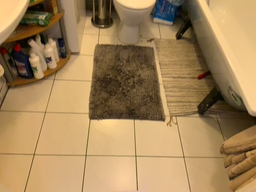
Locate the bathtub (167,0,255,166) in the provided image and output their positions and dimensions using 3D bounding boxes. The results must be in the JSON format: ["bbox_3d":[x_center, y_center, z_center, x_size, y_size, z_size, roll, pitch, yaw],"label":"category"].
[{"bbox_3d":[0.800,-0.390,1.620,0.680,0.550,1.670,3,51,-4],"label":"bathtub"}]

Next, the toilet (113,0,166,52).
[{"bbox_3d":[0.080,-0.880,1.820,0.360,0.710,0.640,3,51,-4],"label":"toilet"}]
